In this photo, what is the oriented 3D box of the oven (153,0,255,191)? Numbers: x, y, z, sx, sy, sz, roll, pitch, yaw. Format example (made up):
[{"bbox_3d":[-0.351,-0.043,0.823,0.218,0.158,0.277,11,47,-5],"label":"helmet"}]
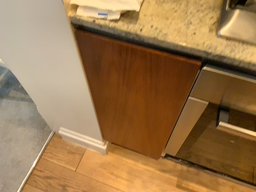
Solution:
[{"bbox_3d":[0.530,-0.010,0.890,0.590,0.900,0.630,18,59,10],"label":"oven"}]
